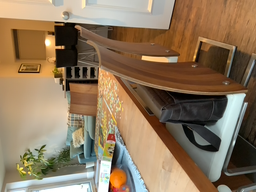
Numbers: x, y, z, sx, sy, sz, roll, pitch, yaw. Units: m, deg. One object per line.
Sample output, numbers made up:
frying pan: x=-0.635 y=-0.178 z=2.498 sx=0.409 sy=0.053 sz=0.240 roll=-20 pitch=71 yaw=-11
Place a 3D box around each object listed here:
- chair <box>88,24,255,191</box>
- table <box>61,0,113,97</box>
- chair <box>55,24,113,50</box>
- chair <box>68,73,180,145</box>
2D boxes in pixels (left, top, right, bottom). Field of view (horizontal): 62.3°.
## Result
chair: x=0.320 y=0.010 z=1.010 sx=0.460 sy=0.930 sz=0.550 roll=-127 pitch=39 yaw=-58
table: x=-1.000 y=-1.120 z=4.730 sx=0.940 sy=0.920 sz=2.060 roll=-127 pitch=40 yaw=-58
chair: x=-0.890 y=-1.180 z=4.230 sx=0.440 sy=1.060 sz=0.380 roll=-126 pitch=38 yaw=-58
chair: x=-0.080 y=0.080 z=2.120 sx=0.550 sy=0.960 sz=0.440 roll=-125 pitch=38 yaw=-57
